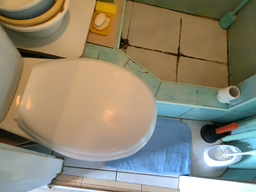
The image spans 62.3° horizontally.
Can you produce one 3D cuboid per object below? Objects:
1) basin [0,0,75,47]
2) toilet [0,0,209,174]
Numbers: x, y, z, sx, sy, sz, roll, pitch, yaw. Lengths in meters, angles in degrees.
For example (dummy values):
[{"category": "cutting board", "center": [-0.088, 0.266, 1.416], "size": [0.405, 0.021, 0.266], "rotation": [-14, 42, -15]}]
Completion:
[{"category": "basin", "center": [-0.390, -0.420, 0.880], "size": [0.280, 0.180, 0.330], "rotation": [11, 71, -6]}, {"category": "toilet", "center": [-0.250, 0.010, 0.760], "size": [0.740, 0.730, 0.370], "rotation": [12, 71, -6]}]
